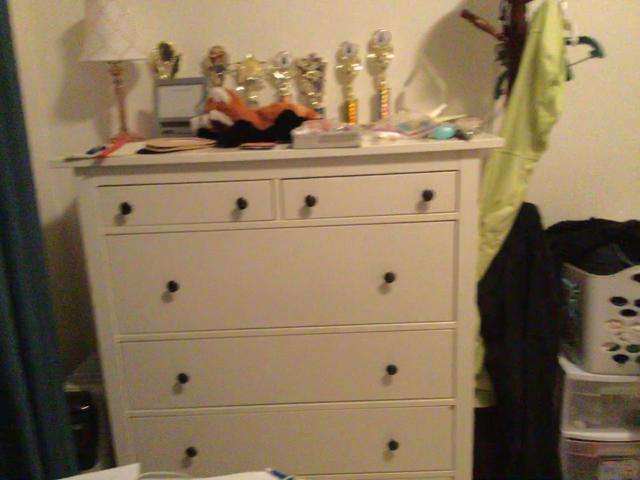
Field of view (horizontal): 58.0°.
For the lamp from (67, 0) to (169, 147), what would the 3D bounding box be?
[{"bbox_3d":[-0.600,-0.510,1.750,0.180,0.430,0.210,-1,14,4],"label":"lamp"}]
